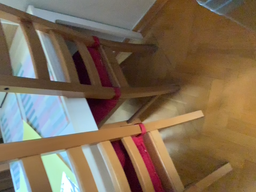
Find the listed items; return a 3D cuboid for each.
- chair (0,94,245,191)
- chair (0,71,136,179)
[{"bbox_3d":[-0.010,0.330,0.910,0.490,1.020,0.450,-40,66,38],"label":"chair"},{"bbox_3d":[-0.530,0.170,1.410,0.490,1.020,0.450,-41,65,38],"label":"chair"}]
